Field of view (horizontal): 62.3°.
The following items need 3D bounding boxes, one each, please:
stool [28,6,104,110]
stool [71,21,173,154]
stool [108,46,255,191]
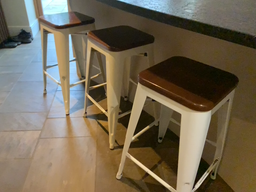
[{"bbox_3d":[-0.470,-0.320,1.720,0.370,0.660,0.410,-26,44,-35],"label":"stool"},{"bbox_3d":[-0.050,-0.070,1.380,0.410,0.660,0.410,-25,43,-35],"label":"stool"},{"bbox_3d":[0.210,0.190,1.010,0.420,0.660,0.430,30,43,34],"label":"stool"}]
